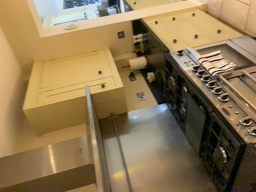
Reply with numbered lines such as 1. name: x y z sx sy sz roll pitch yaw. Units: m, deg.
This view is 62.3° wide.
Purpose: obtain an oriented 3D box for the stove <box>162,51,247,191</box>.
1. stove: 0.490 0.160 1.690 1.090 0.040 0.620 -112 11 -51

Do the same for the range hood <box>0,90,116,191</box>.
1. range hood: -0.540 0.480 1.700 1.030 0.720 0.360 -112 10 -49
